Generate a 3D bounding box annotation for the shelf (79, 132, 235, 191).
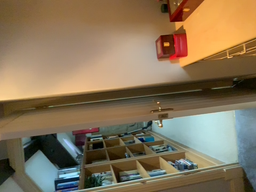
[{"bbox_3d":[0.110,1.040,3.360,2.640,1.560,0.440,164,100,-80],"label":"shelf"}]
